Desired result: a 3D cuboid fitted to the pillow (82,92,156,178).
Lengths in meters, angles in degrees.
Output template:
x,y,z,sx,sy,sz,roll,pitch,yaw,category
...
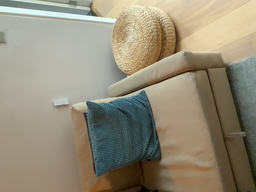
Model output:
x,y,z,sx,sy,sz,roll,pitch,yaw,category
-0.040,0.240,1.440,0.200,0.480,0.470,-15,80,29,pillow
